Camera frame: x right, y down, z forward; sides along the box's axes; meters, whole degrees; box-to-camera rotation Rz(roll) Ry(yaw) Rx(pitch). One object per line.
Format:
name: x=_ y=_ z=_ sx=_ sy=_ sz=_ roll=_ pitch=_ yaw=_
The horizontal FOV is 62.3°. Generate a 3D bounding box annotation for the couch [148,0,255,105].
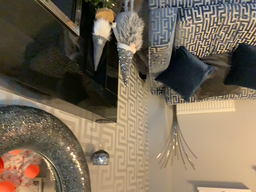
couch: x=0.880 y=-0.410 z=2.070 sx=1.360 sy=0.730 sz=1.080 roll=0 pitch=163 yaw=5
